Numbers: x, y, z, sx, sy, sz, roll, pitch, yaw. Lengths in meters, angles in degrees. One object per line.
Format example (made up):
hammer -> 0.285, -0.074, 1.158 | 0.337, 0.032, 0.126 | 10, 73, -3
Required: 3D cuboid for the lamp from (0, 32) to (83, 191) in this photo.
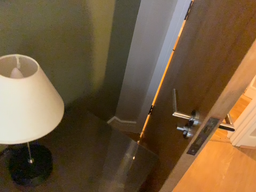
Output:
lamp -> -0.340, 0.090, 0.670 | 0.260, 0.450, 0.250 | 31, 43, 18
